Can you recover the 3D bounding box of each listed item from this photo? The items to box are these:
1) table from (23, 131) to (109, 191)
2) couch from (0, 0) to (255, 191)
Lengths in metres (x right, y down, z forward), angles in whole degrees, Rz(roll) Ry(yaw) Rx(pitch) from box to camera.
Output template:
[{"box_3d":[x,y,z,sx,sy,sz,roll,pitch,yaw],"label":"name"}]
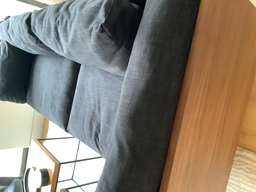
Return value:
[{"box_3d":[-0.530,0.620,1.780,0.470,0.460,0.480,20,101,45],"label":"table"},{"box_3d":[-0.330,-0.130,1.450,1.990,0.780,0.810,17,99,45],"label":"couch"}]
